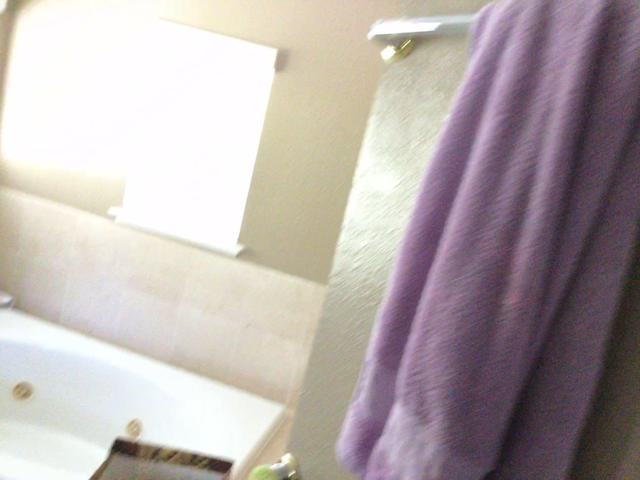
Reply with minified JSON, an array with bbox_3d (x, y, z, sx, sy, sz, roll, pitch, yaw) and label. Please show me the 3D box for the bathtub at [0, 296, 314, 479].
[{"bbox_3d":[-1.080,0.780,2.120,1.830,0.540,1.210,18,7,10],"label":"bathtub"}]
